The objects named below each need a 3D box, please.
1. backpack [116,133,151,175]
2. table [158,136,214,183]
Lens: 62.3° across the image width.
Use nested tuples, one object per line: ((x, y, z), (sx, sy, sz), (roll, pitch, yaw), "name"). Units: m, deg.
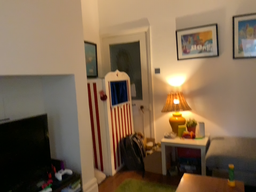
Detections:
((0.090, 0.830, 3.120), (0.370, 0.460, 0.350), (0, 6, 28), "backpack")
((0.810, 0.820, 2.890), (0.630, 0.340, 0.610), (0, 6, 25), "table")
